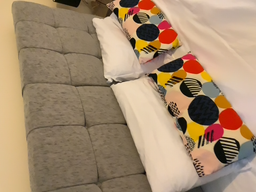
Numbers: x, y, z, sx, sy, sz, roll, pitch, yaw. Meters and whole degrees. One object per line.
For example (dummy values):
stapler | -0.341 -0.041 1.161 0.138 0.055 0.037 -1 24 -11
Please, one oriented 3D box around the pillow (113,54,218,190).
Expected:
pillow | 0.160 0.100 1.010 0.080 0.320 0.640 -40 52 22

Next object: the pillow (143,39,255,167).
pillow | 0.300 0.010 0.960 0.140 0.220 0.590 -42 52 19
